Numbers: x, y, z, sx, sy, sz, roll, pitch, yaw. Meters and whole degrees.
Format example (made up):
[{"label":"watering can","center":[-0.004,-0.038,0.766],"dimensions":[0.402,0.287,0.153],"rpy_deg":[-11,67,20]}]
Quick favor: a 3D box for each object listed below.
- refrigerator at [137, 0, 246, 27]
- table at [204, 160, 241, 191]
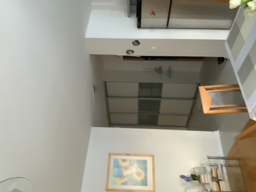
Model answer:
[{"label":"refrigerator","center":[1.000,-1.670,3.630],"dimensions":[0.600,1.650,0.680],"rpy_deg":[90,-177,-56]},{"label":"table","center":[1.530,1.330,3.490],"dimensions":[0.340,0.390,0.410],"rpy_deg":[90,-177,-54]}]
